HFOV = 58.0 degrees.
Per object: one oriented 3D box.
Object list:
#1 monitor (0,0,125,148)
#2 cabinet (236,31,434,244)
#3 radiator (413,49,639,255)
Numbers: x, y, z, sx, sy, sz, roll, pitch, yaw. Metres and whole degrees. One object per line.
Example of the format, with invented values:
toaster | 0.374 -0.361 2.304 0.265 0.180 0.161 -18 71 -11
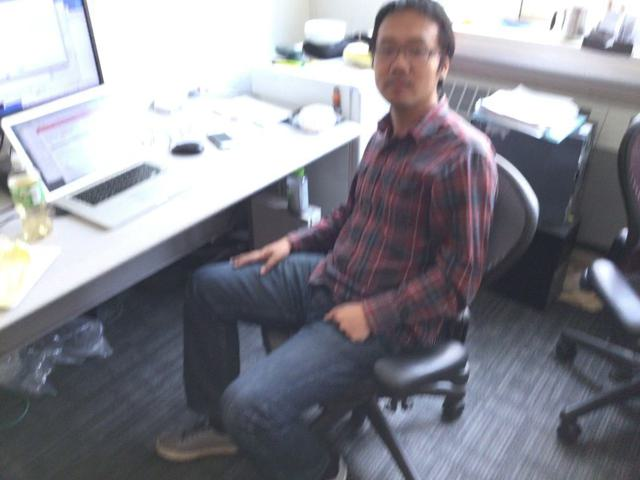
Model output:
monitor | -0.830 -0.490 1.610 0.150 0.360 0.500 21 37 31
cabinet | 0.060 -0.450 2.380 0.600 0.640 0.470 21 37 31
radiator | 1.380 -0.190 1.940 2.190 0.530 0.340 21 37 31
